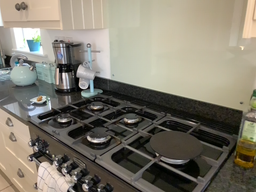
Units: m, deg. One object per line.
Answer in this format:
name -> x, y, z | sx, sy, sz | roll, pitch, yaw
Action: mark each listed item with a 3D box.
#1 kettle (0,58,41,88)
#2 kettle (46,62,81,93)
kettle -> -0.880, -0.200, 1.740 | 0.240, 0.180, 0.190 | 16, 25, 37
kettle -> -0.470, -0.140, 1.560 | 0.180, 0.170, 0.160 | 18, 27, 40
